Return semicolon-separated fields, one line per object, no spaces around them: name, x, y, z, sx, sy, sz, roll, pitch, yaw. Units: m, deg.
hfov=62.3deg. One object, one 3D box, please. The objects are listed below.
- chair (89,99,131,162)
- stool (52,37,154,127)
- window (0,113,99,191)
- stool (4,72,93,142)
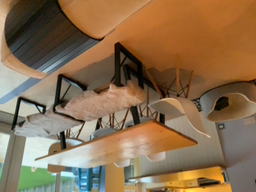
chair;-0.260;0.500;3.010;0.430;0.750;0.360;-23;147;33
stool;-0.270;-0.080;2.190;0.860;0.480;0.540;-22;147;32
window;-1.820;1.520;3.300;0.250;2.360;3.450;-24;146;34
stool;-0.970;0.190;2.630;0.880;0.480;0.590;-22;147;32
